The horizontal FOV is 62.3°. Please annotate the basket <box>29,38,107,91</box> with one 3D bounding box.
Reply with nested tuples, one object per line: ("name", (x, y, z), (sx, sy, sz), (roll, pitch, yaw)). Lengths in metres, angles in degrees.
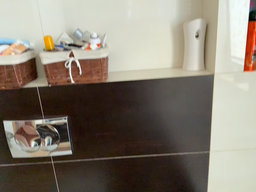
("basket", (-0.210, -0.130, 0.820), (0.230, 0.160, 0.190), (-3, 18, 1))
